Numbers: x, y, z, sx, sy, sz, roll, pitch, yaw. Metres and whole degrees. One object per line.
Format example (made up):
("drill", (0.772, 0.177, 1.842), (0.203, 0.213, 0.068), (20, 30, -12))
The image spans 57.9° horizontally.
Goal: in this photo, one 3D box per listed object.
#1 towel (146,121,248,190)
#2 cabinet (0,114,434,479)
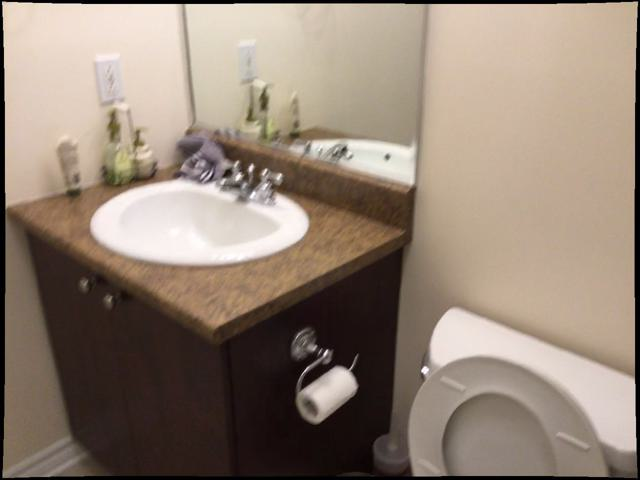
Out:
("towel", (-0.340, -0.240, 1.600), (0.240, 0.110, 0.150), (21, 33, 36))
("cabinet", (-0.260, 0.260, 1.490), (0.830, 0.931, 0.570), (21, 33, 36))
